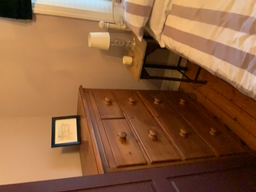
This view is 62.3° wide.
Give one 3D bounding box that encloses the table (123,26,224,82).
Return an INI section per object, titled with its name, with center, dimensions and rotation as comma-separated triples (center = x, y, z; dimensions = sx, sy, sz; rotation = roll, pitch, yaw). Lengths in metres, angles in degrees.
[table]
center = 0.410, -0.400, 2.050
dimensions = 0.420, 0.790, 0.360
rotation = -121, 36, -55
